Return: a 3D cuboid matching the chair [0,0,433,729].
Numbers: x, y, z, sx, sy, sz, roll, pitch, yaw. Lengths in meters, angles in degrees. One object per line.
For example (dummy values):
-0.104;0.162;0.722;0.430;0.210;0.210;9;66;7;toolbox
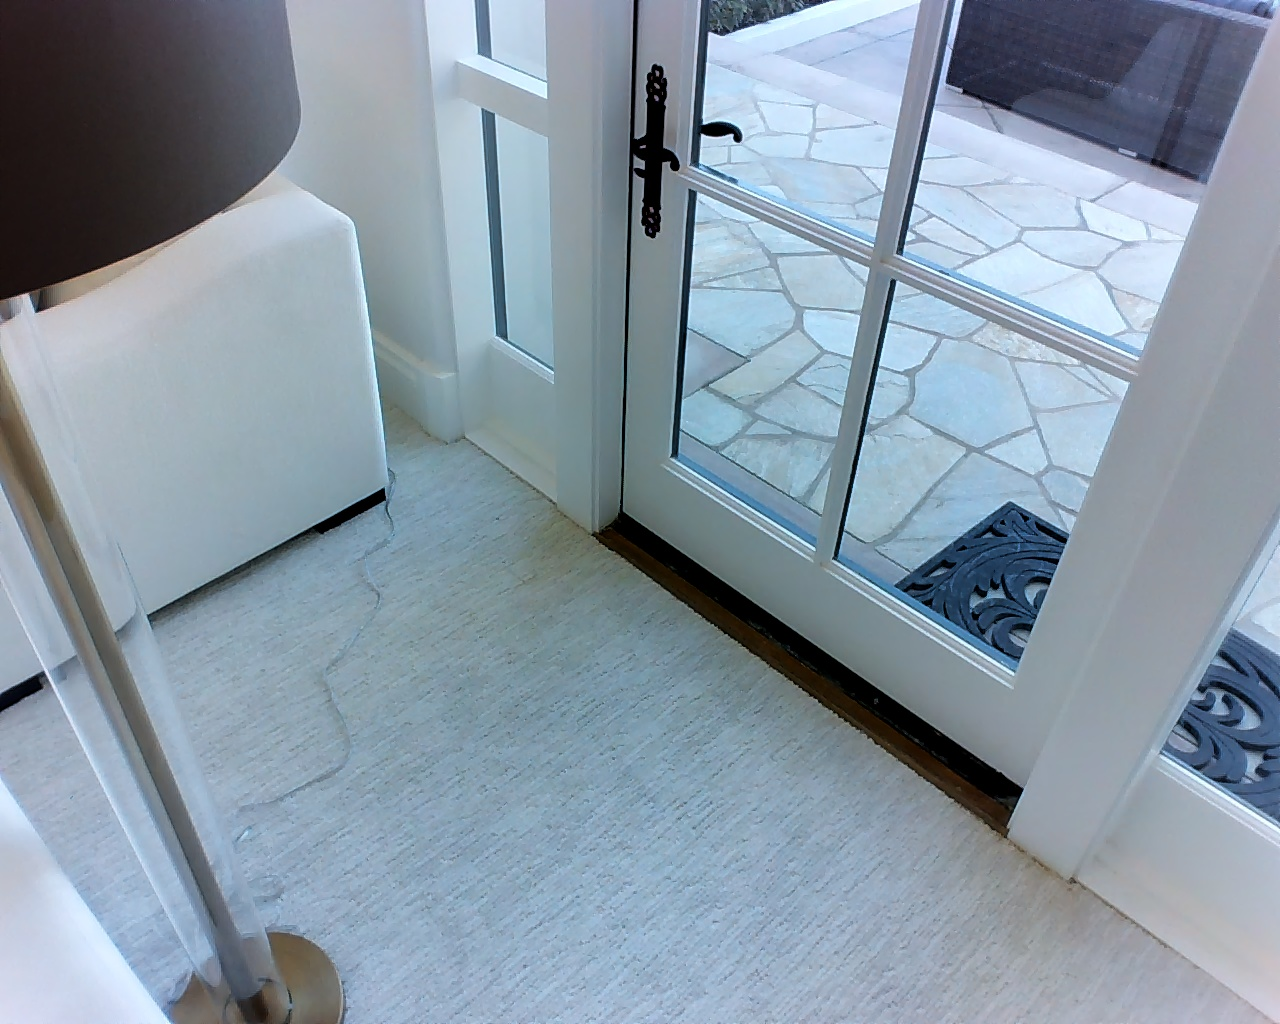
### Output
-1.250;-0.410;2.210;1.090;0.910;1.120;-32;52;-33;chair
